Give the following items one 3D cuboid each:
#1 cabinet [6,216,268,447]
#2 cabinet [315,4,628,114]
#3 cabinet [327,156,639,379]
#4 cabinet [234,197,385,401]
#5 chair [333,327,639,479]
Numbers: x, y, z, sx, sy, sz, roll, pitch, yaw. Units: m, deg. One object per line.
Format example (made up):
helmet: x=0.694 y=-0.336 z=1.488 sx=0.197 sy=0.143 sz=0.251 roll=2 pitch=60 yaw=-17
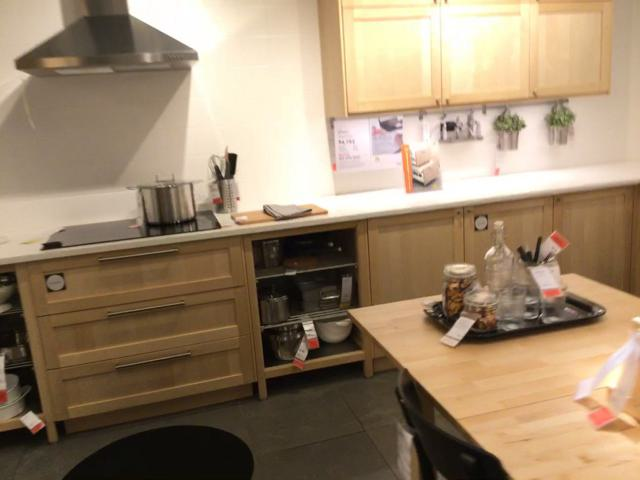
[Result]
cabinet: x=-0.850 y=0.400 z=2.870 sx=1.010 sy=0.840 sz=0.510 roll=-9 pitch=13 yaw=-13
cabinet: x=0.810 y=-0.970 z=3.130 sx=1.560 sy=0.400 sz=0.530 roll=-9 pitch=13 yaw=-13
cabinet: x=0.950 y=0.090 z=3.300 sx=1.650 sy=0.910 sz=0.540 roll=-9 pitch=13 yaw=-13
cabinet: x=-0.070 y=0.270 z=3.070 sx=0.600 sy=0.860 sz=0.570 roll=-9 pitch=13 yaw=-13
chair: x=0.390 y=0.690 z=1.360 sx=0.540 sy=0.760 sz=0.470 roll=-9 pitch=13 yaw=-13
